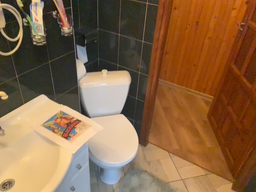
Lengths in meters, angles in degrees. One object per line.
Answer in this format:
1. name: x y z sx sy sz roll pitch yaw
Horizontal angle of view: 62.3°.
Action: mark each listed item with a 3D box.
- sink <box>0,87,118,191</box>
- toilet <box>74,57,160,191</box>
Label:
1. sink: -0.500 0.320 0.870 0.520 0.200 0.870 22 39 23
2. toilet: -0.140 0.230 1.590 0.430 0.830 0.620 -5 36 -14
